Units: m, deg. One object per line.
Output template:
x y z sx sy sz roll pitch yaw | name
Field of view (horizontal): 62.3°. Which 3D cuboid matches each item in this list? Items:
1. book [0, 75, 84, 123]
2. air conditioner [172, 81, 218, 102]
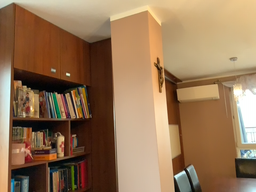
-0.800 0.070 1.940 0.360 0.320 0.790 -7 -9 25 | book
1.370 -0.080 4.340 0.850 0.290 0.250 -7 -9 25 | air conditioner
